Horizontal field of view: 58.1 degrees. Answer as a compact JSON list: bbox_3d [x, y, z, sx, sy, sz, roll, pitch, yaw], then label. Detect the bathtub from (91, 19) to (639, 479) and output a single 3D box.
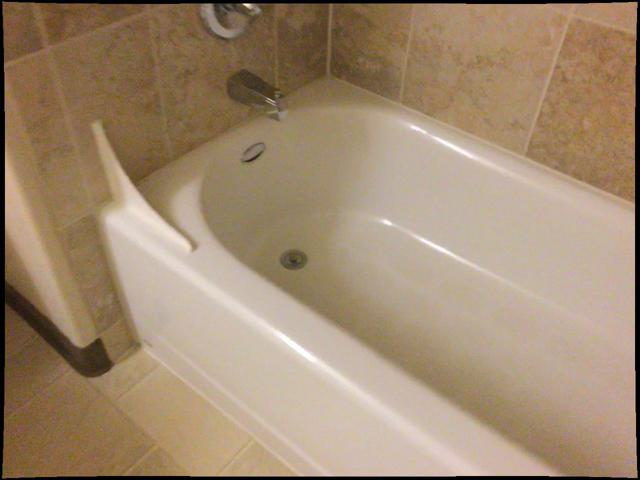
[{"bbox_3d":[0.359,0.130,1.130,1.429,0.481,0.750,31,52,26],"label":"bathtub"}]
